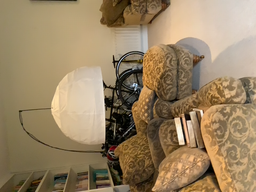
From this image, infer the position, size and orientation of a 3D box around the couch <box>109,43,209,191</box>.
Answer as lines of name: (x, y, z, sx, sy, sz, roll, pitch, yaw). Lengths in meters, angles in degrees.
couch: (0.280, 0.260, 2.550, 0.960, 0.810, 1.710, -129, 36, -71)

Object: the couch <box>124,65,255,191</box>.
couch: (0.500, 0.450, 1.470, 0.890, 0.810, 1.070, 134, 131, -76)
